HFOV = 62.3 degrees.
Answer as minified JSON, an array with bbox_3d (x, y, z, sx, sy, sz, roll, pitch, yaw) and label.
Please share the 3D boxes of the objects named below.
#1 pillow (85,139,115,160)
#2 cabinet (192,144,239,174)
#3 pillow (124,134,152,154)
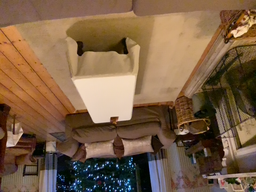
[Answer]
[{"bbox_3d":[-0.520,1.000,3.970,0.530,0.350,0.130,-2,-155,-2],"label":"pillow"},{"bbox_3d":[1.690,1.310,4.280,0.340,1.300,0.420,-5,-112,-2],"label":"cabinet"},{"bbox_3d":[0.180,0.900,3.990,0.510,0.340,0.140,-2,-152,-2],"label":"pillow"}]
